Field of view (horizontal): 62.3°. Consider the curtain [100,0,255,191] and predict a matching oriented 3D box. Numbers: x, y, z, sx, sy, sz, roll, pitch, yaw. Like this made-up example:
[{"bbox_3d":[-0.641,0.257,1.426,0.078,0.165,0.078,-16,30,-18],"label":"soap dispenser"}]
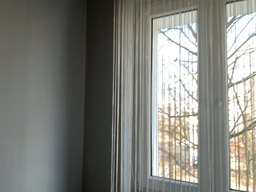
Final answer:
[{"bbox_3d":[0.580,-0.150,1.110,1.600,1.860,0.170,-1,-4,28],"label":"curtain"}]
